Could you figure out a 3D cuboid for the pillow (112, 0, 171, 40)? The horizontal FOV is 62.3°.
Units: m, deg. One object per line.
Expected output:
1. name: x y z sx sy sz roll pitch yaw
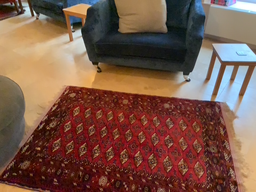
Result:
1. pillow: 0.160 -1.000 2.400 0.590 0.510 0.320 -9 49 5
